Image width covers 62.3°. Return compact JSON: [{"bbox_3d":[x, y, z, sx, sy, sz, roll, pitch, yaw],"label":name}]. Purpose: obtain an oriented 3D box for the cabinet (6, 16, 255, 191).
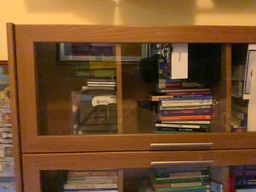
[{"bbox_3d":[0.150,0.190,0.980,0.310,1.160,0.990,-116,26,-82],"label":"cabinet"}]
